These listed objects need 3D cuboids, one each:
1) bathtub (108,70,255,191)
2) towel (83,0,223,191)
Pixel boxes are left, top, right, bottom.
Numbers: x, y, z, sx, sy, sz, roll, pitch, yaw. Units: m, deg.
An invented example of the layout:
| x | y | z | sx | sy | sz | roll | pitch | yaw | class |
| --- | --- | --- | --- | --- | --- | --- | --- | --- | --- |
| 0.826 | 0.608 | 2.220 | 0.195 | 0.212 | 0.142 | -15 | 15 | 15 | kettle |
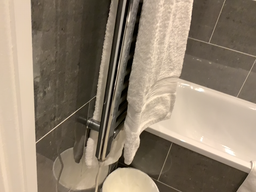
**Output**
| x | y | z | sx | sy | sz | roll | pitch | yaw | class |
| --- | --- | --- | --- | --- | --- | --- | --- | --- | --- |
| 0.820 | 0.490 | 1.230 | 1.670 | 0.600 | 0.690 | 21 | 31 | 14 | bathtub |
| 0.110 | -0.180 | 0.550 | 0.200 | 0.780 | 0.380 | 21 | 31 | 14 | towel |
